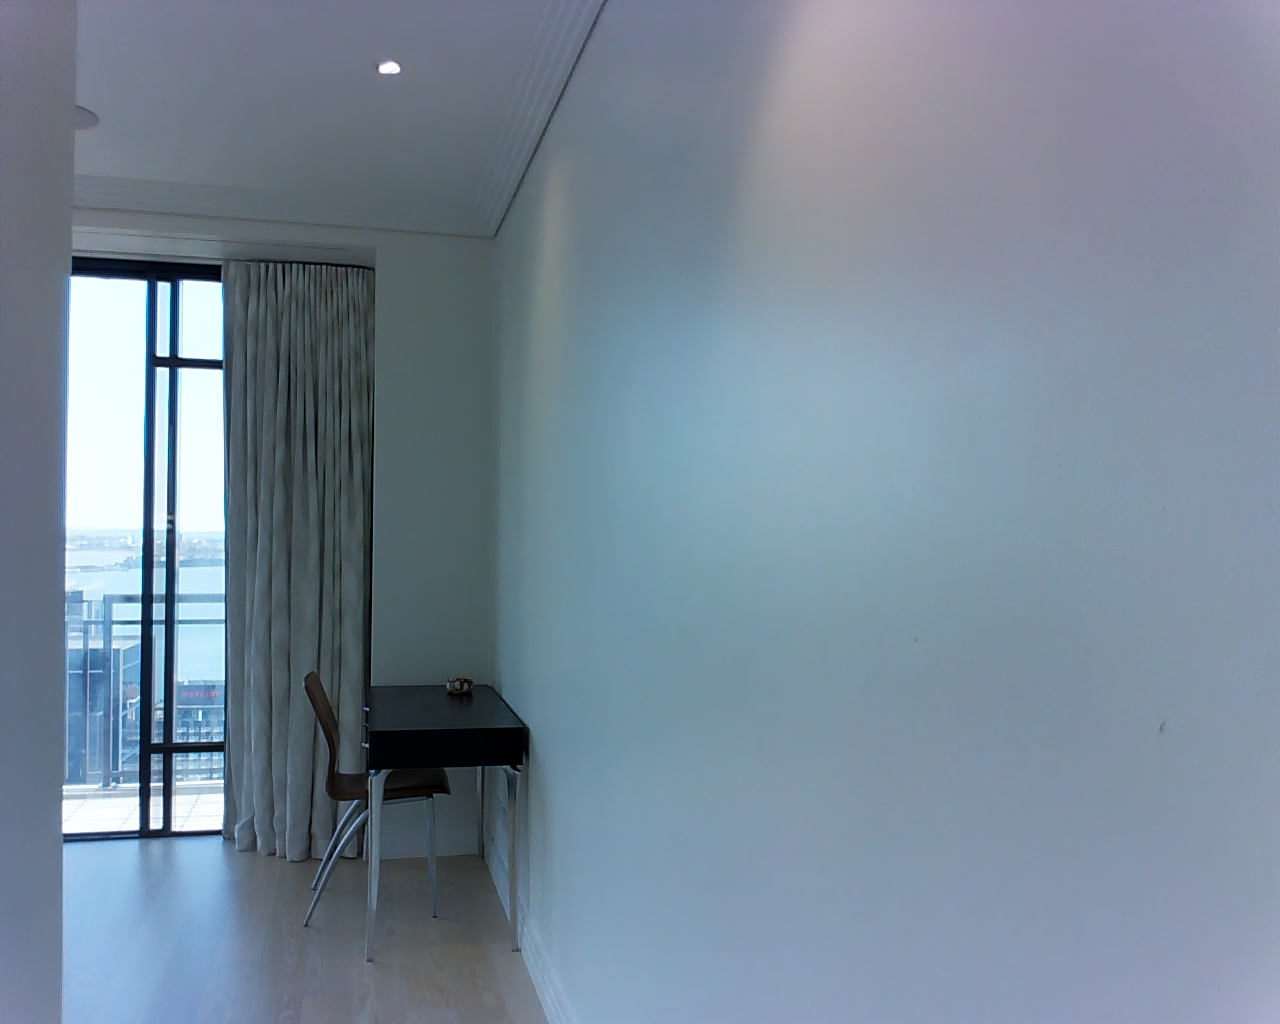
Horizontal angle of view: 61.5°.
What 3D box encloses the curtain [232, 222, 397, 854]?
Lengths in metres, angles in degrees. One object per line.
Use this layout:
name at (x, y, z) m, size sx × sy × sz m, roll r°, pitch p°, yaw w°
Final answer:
curtain at (-1.420, 0.110, 4.740) m, size 0.640 × 2.611 × 0.440 m, roll 1°, pitch 0°, yaw -14°
